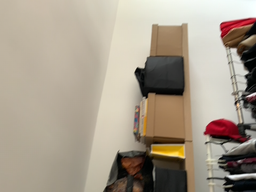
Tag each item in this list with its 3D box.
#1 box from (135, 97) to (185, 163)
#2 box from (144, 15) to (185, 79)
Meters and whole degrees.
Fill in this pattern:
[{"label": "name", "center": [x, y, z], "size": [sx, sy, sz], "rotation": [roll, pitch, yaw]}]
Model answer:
[{"label": "box", "center": [0.250, 0.260, 1.600], "size": [0.320, 0.320, 0.400], "rotation": [72, -158, -61]}, {"label": "box", "center": [0.340, -0.440, 1.960], "size": [0.330, 0.320, 0.460], "rotation": [71, -157, -62]}]
